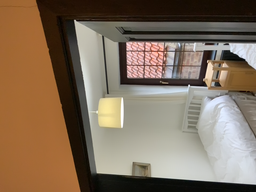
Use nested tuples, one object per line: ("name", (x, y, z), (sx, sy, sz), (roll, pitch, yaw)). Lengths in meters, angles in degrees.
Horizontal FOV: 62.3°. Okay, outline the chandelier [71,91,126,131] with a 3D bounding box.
("chandelier", (-0.320, 0.160, 2.390), (0.260, 0.560, 0.370), (-65, 156, -79))
